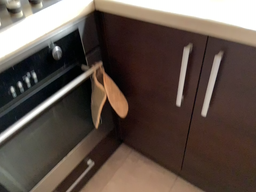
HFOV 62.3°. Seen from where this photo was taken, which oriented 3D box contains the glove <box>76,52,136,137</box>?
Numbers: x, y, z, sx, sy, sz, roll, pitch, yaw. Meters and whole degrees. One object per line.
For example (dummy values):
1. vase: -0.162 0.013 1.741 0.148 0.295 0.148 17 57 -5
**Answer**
1. glove: -0.070 0.000 0.810 0.140 0.270 0.130 25 51 27
